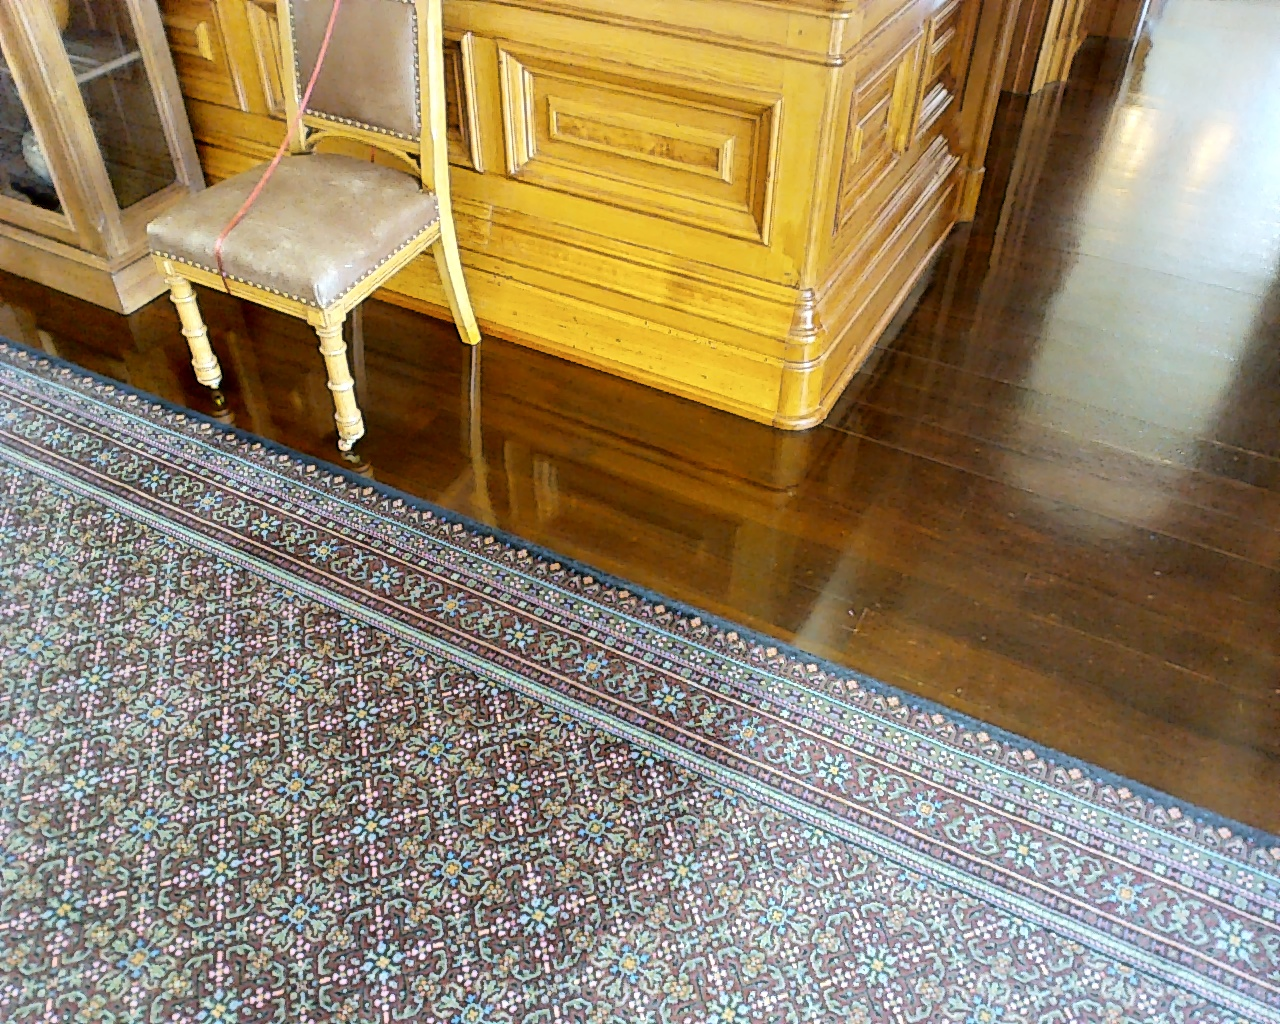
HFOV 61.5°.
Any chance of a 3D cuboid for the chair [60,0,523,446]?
[{"bbox_3d":[-0.720,-0.810,2.440,0.580,1.020,0.630,21,46,21],"label":"chair"}]
